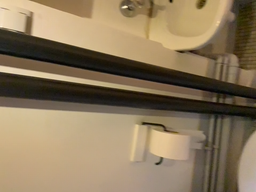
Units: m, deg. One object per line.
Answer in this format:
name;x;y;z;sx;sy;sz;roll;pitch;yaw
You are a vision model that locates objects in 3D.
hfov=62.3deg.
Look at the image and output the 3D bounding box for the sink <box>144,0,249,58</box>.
sink;0.300;-0.460;0.960;0.410;0.170;0.520;9;92;55
